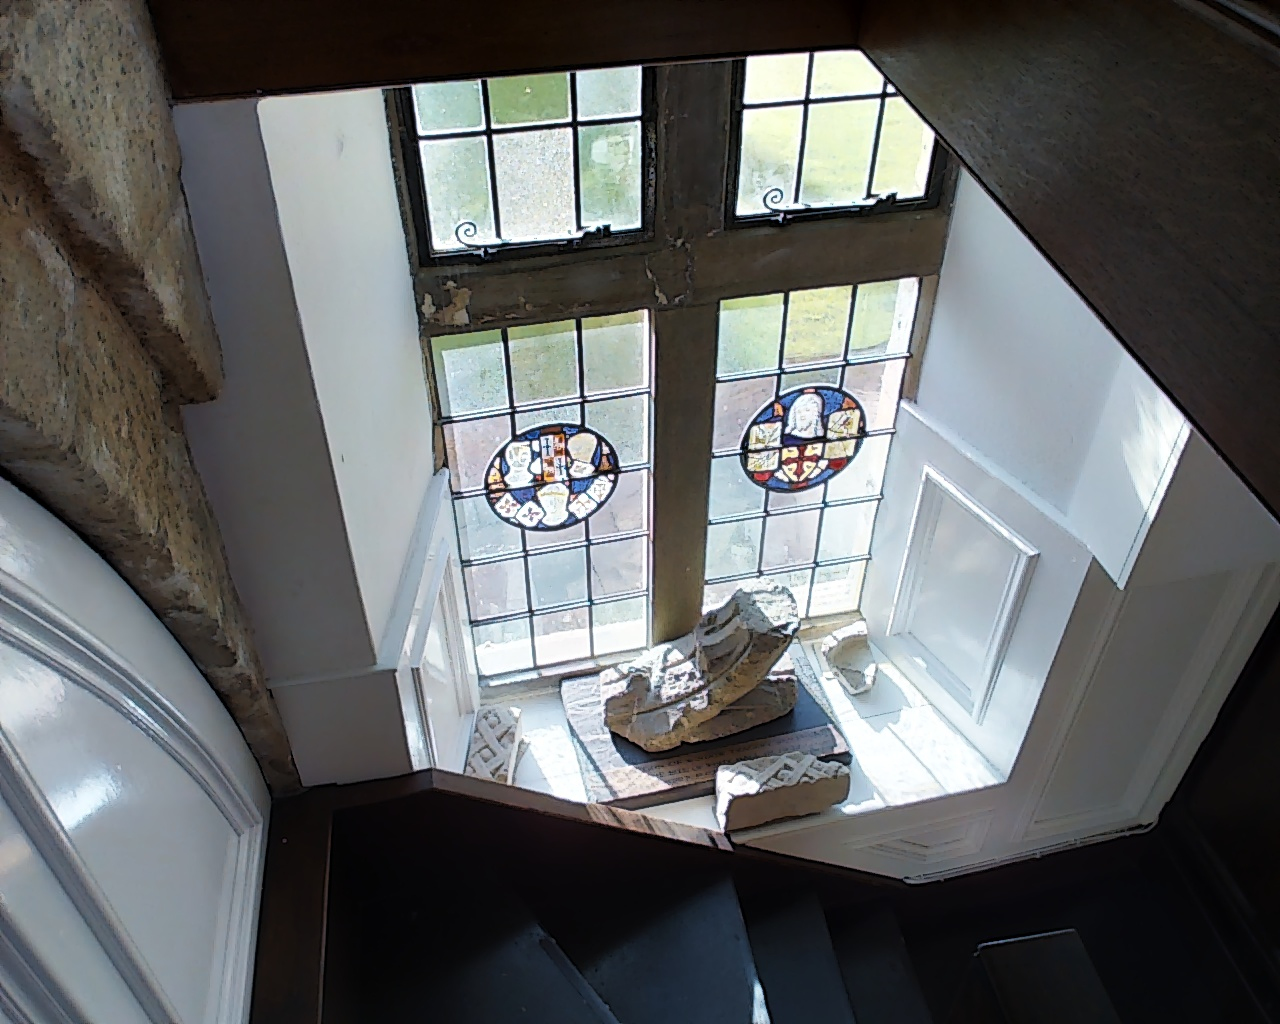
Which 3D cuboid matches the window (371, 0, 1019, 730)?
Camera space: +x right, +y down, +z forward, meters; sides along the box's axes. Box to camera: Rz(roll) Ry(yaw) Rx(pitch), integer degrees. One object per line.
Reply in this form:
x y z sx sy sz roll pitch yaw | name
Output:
0.110 -0.260 2.360 1.120 1.820 0.130 -9 41 -12 | window

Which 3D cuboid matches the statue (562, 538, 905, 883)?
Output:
0.190 0.460 2.610 0.640 0.430 0.570 -9 41 -12 | statue
